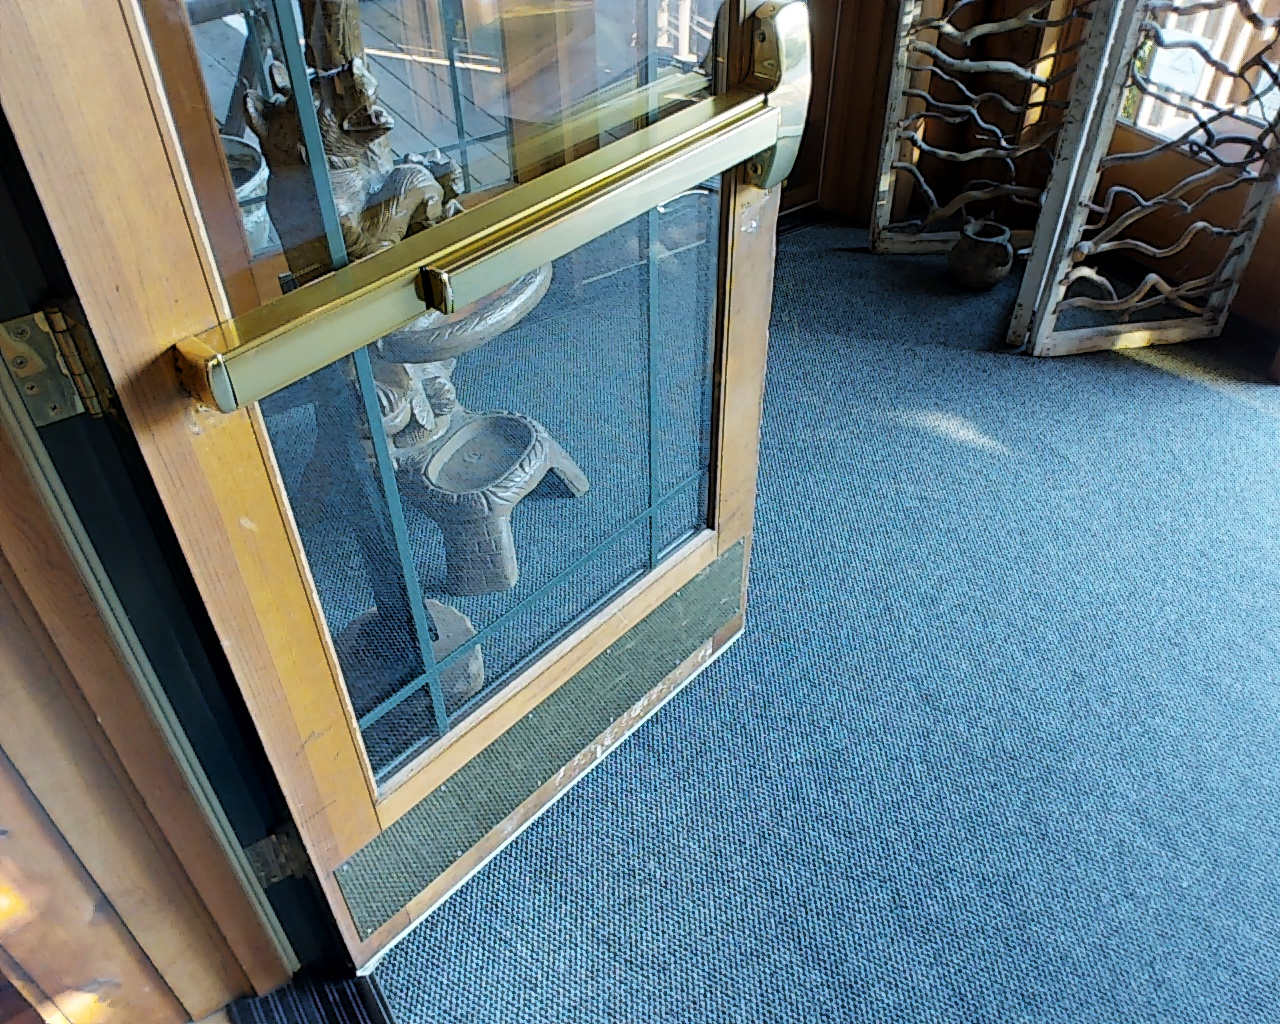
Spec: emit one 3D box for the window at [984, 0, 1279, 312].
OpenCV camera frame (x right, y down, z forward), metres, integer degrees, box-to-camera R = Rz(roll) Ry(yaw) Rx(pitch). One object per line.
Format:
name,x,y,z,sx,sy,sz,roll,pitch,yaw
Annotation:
window,1.370,-1.460,2.310,0.200,1.830,0.970,-24,48,-24
